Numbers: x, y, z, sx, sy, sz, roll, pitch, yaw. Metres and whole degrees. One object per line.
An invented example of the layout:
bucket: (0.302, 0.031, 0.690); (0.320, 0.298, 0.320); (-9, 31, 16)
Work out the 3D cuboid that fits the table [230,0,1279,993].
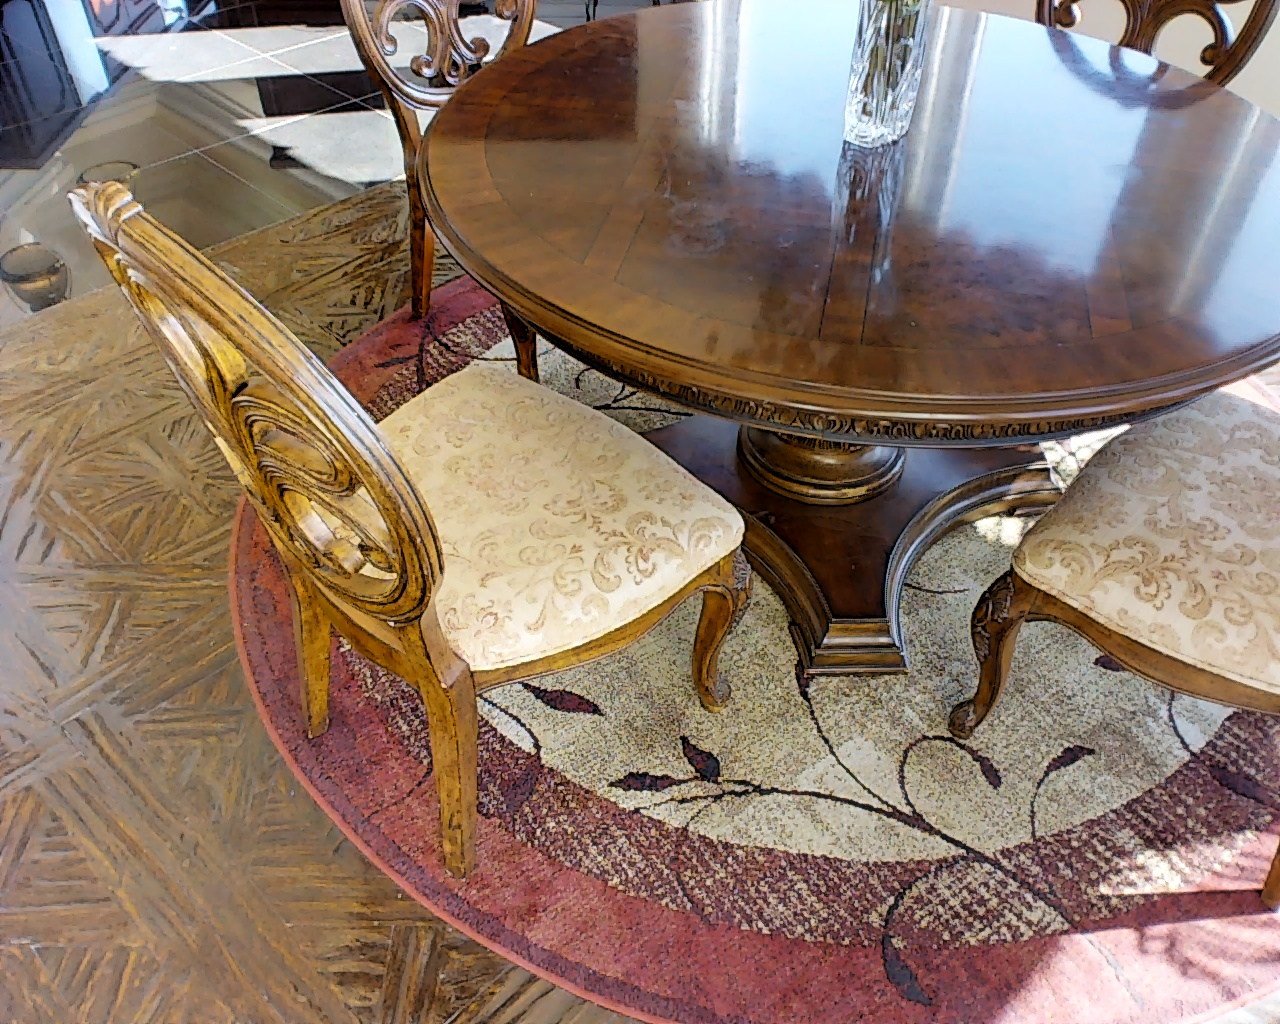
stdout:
table: (0.390, -0.330, 1.970); (1.470, 0.780, 1.480); (33, 52, 31)
